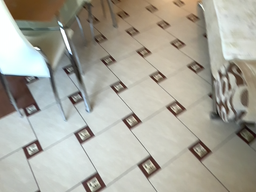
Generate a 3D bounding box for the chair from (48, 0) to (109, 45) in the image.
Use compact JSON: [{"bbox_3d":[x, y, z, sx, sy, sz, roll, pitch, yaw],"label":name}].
[{"bbox_3d":[-0.470,-1.050,1.960,0.370,0.970,0.530,9,51,9],"label":"chair"}]
